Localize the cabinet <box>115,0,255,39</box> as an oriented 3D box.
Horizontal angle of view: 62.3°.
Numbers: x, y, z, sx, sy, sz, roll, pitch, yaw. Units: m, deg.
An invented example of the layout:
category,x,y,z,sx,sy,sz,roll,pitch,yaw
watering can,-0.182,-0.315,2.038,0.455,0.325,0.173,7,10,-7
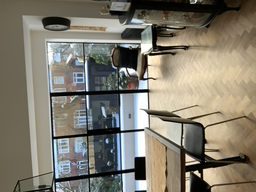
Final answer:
category,x,y,z,sx,sy,sz,roll,pitch,yaw
cabinet,0.510,-0.970,2.310,1.000,1.120,0.450,-171,79,-75
